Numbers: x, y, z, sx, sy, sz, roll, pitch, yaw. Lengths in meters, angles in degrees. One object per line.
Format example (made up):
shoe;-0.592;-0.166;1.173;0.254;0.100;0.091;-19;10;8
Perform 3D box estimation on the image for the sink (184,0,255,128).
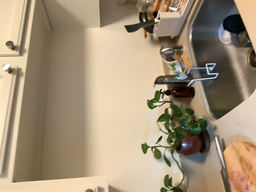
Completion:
sink;0.490;-0.210;0.920;0.410;0.260;0.590;101;165;-65
